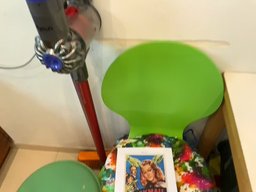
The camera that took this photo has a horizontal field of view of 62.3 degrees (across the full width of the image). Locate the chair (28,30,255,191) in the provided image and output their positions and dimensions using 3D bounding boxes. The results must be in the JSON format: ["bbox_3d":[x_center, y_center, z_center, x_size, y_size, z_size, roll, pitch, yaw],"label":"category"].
[{"bbox_3d":[0.100,0.280,0.830,0.460,0.870,0.510,5,51,6],"label":"chair"}]
